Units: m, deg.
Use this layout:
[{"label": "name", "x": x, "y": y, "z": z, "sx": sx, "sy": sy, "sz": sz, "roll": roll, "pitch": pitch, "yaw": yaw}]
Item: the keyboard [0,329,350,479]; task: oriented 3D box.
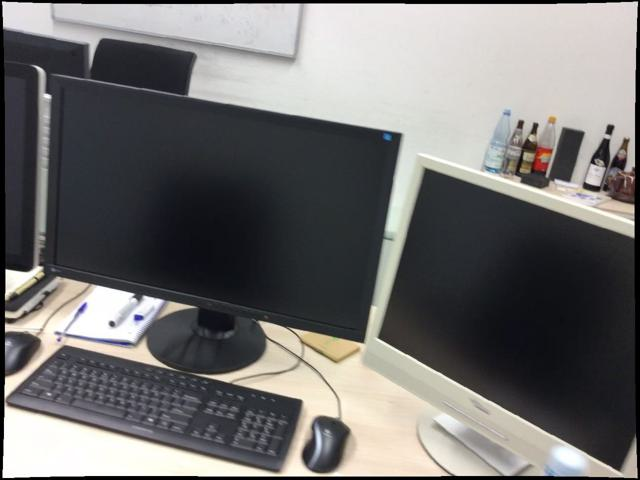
[{"label": "keyboard", "x": -0.240, "y": 0.280, "z": 1.020, "sx": 0.579, "sy": 0.030, "sz": 0.240, "roll": 9, "pitch": 23, "yaw": 2}]

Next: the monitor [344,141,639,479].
[{"label": "monitor", "x": 0.280, "y": 0.140, "z": 0.940, "sx": 0.400, "sy": 0.470, "sz": 0.360, "roll": 9, "pitch": 23, "yaw": 2}]
